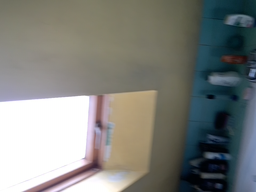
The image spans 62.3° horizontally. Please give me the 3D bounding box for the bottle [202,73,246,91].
[{"bbox_3d":[0.730,-0.110,1.620,0.140,0.260,0.100,-114,29,-81],"label":"bottle"}]

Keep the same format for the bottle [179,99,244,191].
[{"bbox_3d":[0.610,0.470,1.640,0.310,0.230,0.830,-105,20,-77],"label":"bottle"}]
